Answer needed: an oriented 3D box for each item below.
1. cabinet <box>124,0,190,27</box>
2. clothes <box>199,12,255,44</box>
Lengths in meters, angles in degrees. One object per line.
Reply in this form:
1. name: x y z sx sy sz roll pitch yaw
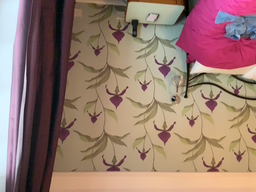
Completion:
1. cabinet: 0.270 -1.010 2.170 0.560 0.380 0.450 3 173 -6
2. clothes: 0.890 -0.540 1.730 0.470 0.070 0.420 1 172 0
